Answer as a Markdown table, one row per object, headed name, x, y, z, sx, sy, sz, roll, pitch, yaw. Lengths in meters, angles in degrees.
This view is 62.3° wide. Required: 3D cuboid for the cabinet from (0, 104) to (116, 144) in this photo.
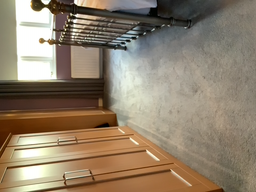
| name | x | y | z | sx | sy | sz | roll | pitch | yaw |
| --- | --- | --- | --- | --- | --- | --- | --- | --- | --- |
| cabinet | -1.350 | 0.420 | 3.580 | 0.960 | 2.090 | 0.370 | -165 | 75 | -68 |
